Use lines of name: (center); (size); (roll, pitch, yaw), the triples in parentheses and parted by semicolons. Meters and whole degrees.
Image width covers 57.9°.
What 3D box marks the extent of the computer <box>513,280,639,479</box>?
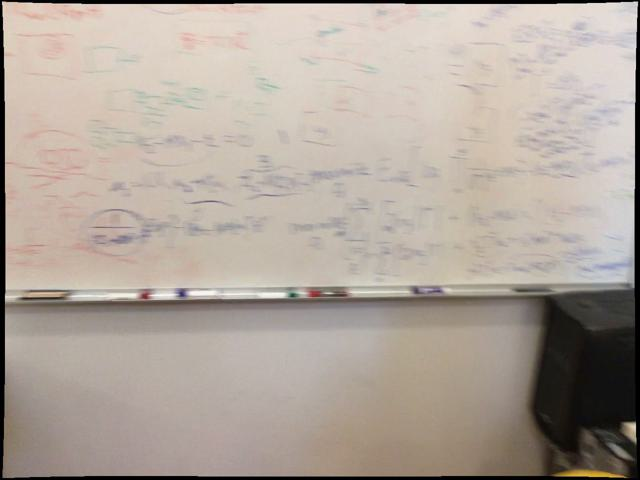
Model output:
computer: (1.059, 0.501, 2.000); (0.589, 0.651, 0.320); (0, 16, -9)
